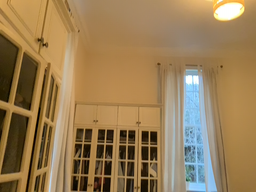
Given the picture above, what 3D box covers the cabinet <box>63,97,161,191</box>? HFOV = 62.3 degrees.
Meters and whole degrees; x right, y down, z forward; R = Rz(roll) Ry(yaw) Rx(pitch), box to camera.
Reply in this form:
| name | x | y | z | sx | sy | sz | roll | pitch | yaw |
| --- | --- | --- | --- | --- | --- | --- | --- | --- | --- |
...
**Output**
| name | x | y | z | sx | sy | sz | roll | pitch | yaw |
| --- | --- | --- | --- | --- | --- | --- | --- | --- | --- |
| cabinet | -0.240 | 1.160 | 3.670 | 1.540 | 2.210 | 0.490 | 1 | -15 | 2 |
